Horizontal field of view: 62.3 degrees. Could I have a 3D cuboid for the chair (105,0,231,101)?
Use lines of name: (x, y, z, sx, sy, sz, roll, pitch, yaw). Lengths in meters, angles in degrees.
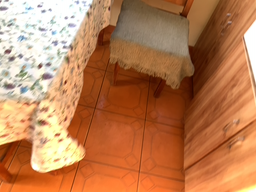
chair: (0.180, -0.460, 1.310, 0.460, 0.900, 0.480, 13, 54, -5)
